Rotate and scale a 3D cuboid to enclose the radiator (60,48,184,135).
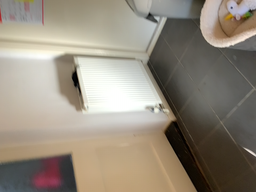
[{"bbox_3d":[-0.100,-0.090,2.070,0.210,0.980,0.880,113,147,-41],"label":"radiator"}]
